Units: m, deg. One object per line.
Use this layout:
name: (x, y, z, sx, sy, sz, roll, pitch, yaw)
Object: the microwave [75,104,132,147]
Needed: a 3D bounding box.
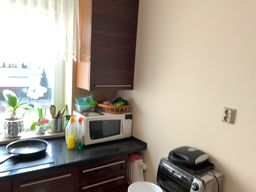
microwave: (-0.260, 0.280, 2.210, 0.450, 0.310, 0.360, -2, 10, -37)
